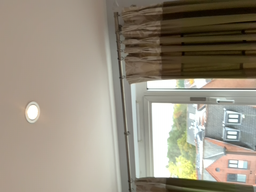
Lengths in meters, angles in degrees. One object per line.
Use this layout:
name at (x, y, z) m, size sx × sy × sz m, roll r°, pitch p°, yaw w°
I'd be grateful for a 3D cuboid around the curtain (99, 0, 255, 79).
curtain at (0.970, -0.350, 1.270) m, size 0.170 × 2.310 × 0.470 m, roll -58°, pitch -33°, yaw -64°
